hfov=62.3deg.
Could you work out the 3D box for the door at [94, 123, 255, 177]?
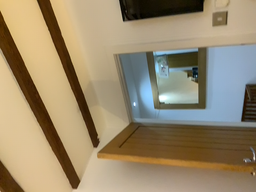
[{"bbox_3d":[0.790,0.360,1.480,0.690,1.920,0.040,-32,-59,-69],"label":"door"}]
